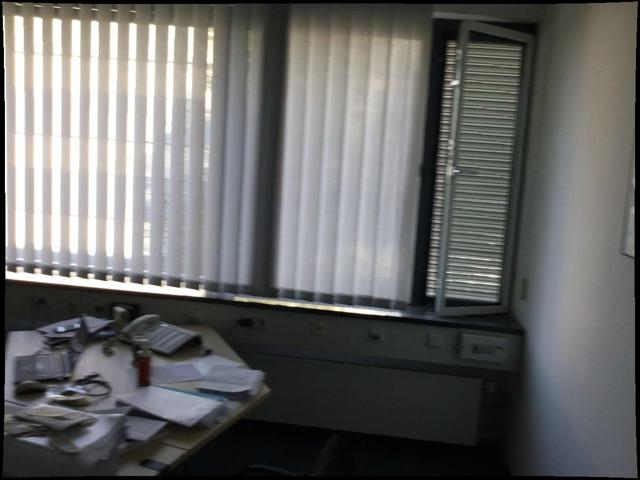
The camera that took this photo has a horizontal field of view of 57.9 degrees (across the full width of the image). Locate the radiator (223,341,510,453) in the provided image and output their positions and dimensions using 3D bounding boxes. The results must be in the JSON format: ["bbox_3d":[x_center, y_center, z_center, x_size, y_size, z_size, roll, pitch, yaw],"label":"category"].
[{"bbox_3d":[0.240,0.881,3.300,1.558,0.440,0.220,3,8,7],"label":"radiator"}]
